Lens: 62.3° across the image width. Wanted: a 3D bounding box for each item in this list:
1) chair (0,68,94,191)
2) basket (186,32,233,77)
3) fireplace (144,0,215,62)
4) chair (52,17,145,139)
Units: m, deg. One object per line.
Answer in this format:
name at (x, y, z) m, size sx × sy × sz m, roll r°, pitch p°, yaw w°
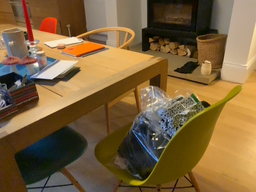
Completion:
chair at (-0.480, 0.320, 0.990) m, size 0.440 × 0.730 × 0.400 m, roll -27°, pitch 38°, yaw -38°
basket at (1.000, -0.530, 2.640) m, size 0.380 × 0.410 × 0.340 m, roll 24°, pitch 38°, yaw 37°
fireplace at (0.700, -1.030, 3.070) m, size 0.840 × 0.810 × 0.430 m, roll 23°, pitch 37°, yaw 36°
chair at (-0.240, -0.190, 1.820) m, size 0.500 × 0.800 × 0.580 m, roll -18°, pitch 33°, yaw -28°
